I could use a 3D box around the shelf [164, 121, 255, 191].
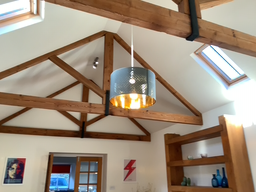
[{"bbox_3d":[1.410,1.820,3.960,0.420,2.300,1.920,8,-22,-20],"label":"shelf"}]
